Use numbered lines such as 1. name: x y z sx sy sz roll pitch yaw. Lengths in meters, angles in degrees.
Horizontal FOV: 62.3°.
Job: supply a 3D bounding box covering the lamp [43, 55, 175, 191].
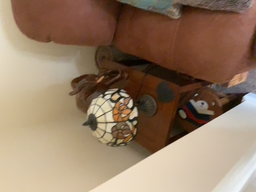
1. lamp: -0.130 0.080 1.080 0.530 0.350 0.430 29 118 36
